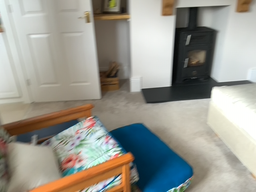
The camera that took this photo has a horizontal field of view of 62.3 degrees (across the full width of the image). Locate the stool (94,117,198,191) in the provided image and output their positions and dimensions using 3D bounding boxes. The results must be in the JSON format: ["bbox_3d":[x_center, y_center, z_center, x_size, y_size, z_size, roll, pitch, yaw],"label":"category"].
[{"bbox_3d":[0.090,0.450,1.500,0.390,0.230,0.650,-18,31,-30],"label":"stool"}]

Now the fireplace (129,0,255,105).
[{"bbox_3d":[0.860,-0.720,2.700,1.540,1.220,0.970,-5,27,-6],"label":"fireplace"}]
